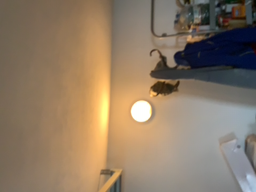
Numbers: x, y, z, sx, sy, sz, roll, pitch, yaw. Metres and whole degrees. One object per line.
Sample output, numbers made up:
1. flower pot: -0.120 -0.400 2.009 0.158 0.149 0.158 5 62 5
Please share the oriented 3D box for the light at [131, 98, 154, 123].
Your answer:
1. light: 0.160 0.160 2.350 0.040 0.250 0.270 46 -135 -78
